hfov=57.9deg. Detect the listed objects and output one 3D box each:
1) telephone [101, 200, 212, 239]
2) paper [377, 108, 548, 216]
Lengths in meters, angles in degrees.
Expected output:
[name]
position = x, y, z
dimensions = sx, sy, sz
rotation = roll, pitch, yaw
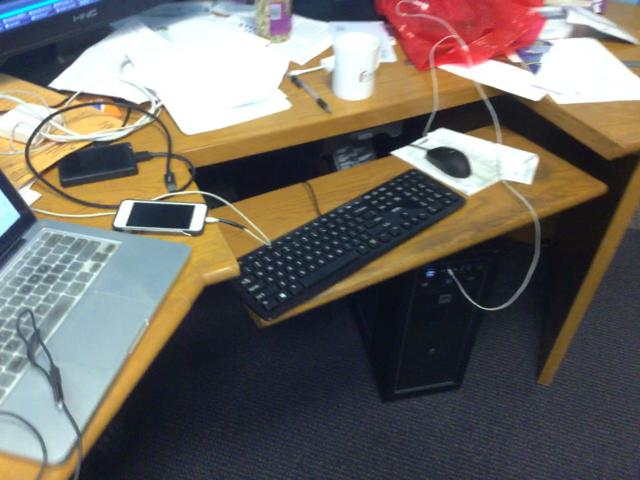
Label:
[telephone]
position = -0.230, -0.030, 0.820
dimensions = 0.140, 0.010, 0.060
rotation = 4, 42, 5
[paper]
position = 0.280, -0.160, 1.120
dimensions = 0.290, 0.050, 0.220
rotation = 12, 44, 14
